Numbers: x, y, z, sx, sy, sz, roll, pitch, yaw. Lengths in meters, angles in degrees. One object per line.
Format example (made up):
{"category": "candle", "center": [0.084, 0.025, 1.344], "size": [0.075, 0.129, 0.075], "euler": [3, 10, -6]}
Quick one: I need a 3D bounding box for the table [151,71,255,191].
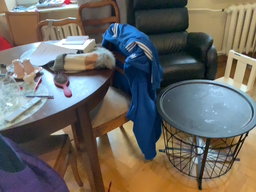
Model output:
{"category": "table", "center": [0.470, 0.210, 1.470], "size": [0.550, 0.480, 0.630], "euler": [-4, 34, 1]}

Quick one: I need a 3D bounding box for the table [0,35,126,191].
{"category": "table", "center": [-0.540, 0.190, 1.350], "size": [0.990, 0.780, 0.960], "euler": [-4, 34, 1]}
